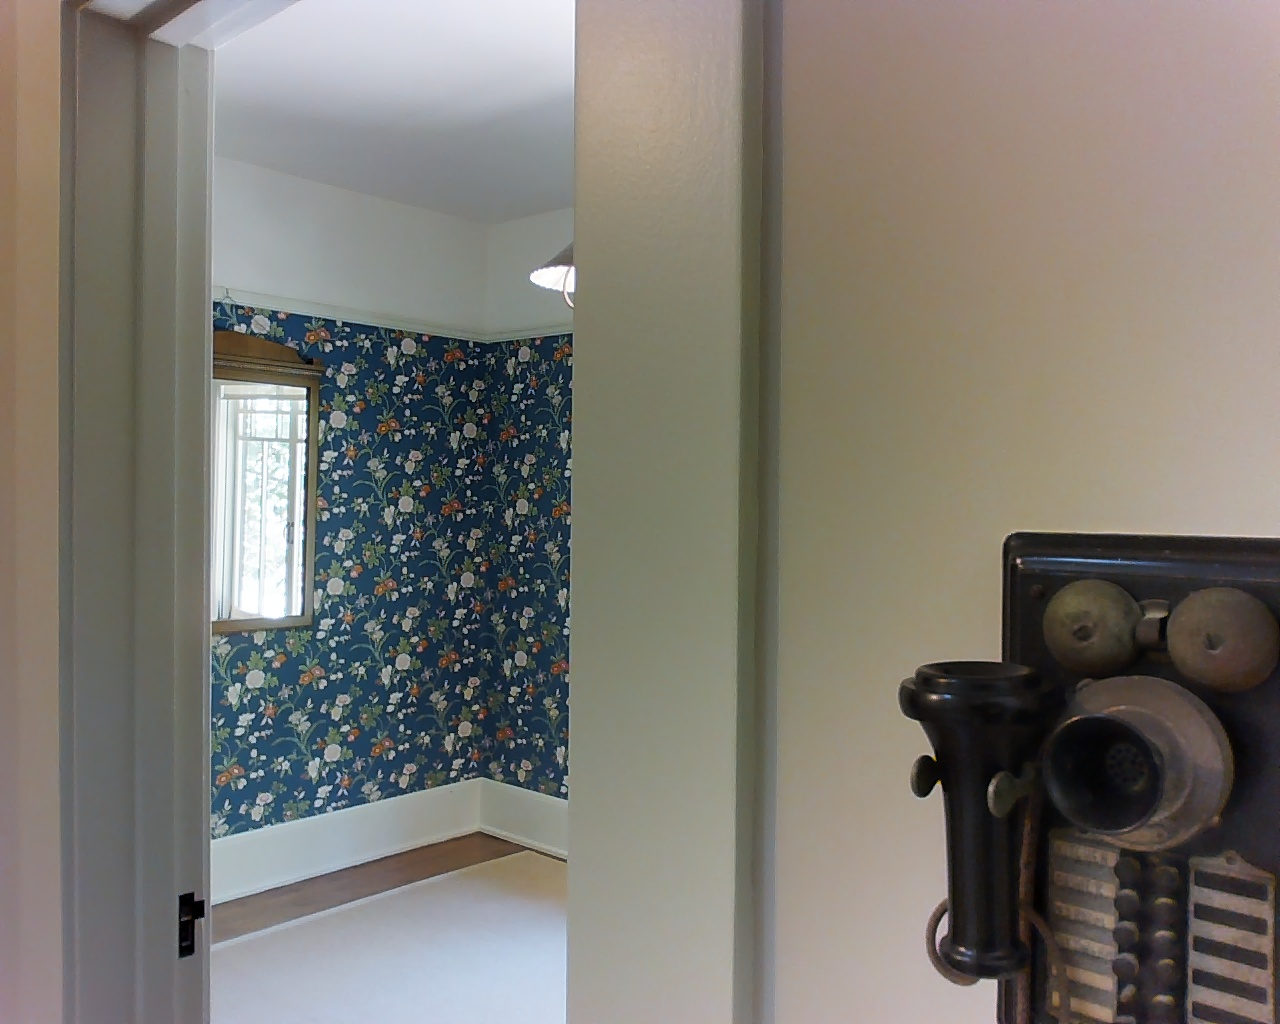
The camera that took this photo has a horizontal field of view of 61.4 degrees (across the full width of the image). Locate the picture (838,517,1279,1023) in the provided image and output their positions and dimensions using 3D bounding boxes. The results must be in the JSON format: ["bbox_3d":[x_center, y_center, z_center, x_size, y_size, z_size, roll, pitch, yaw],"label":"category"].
[{"bbox_3d":[0.200,0.140,0.480,0.210,0.270,0.070,2,1,41],"label":"picture"}]
